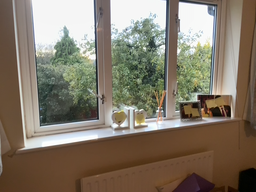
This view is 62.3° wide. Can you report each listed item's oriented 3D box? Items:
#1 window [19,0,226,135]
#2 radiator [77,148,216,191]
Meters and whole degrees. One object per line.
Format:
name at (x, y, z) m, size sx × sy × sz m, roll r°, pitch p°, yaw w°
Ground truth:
window at (0.090, -0.340, 1.730) m, size 1.700 × 1.130 × 0.070 m, roll -4°, pitch 10°, yaw -21°
radiator at (0.190, 0.740, 1.630) m, size 1.110 × 0.500 × 0.110 m, roll -4°, pitch 10°, yaw -22°
